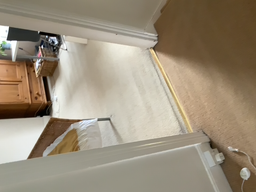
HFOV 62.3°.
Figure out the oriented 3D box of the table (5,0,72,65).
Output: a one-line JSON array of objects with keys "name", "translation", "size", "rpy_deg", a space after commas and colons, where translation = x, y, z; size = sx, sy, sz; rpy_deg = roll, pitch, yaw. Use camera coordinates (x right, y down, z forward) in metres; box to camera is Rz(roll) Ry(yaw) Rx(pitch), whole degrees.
[{"name": "table", "translation": [-1.450, -1.060, 3.330], "size": [0.980, 0.720, 0.630], "rpy_deg": [-44, 56, 44]}]
